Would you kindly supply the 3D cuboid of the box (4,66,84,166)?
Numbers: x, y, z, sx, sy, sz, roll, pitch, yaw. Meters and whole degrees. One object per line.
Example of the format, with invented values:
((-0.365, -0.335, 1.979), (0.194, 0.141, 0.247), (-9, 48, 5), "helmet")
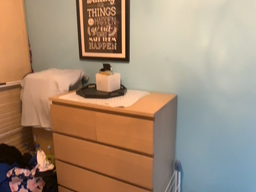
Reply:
((-0.750, 0.140, 1.950), (0.550, 0.760, 0.360), (8, 16, 28), "box")
